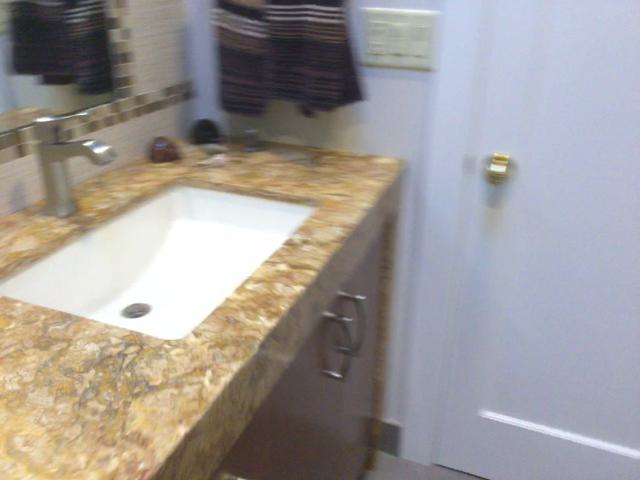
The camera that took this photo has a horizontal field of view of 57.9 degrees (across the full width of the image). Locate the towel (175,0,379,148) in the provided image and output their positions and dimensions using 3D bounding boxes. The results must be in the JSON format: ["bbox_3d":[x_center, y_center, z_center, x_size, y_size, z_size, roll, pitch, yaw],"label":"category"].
[{"bbox_3d":[-0.090,-0.440,1.240,0.400,0.420,0.150,8,25,16],"label":"towel"}]

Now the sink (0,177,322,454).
[{"bbox_3d":[-0.240,0.070,0.970,0.340,0.170,0.520,8,25,17],"label":"sink"}]

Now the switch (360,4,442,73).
[{"bbox_3d":[0.170,-0.430,1.230,0.160,0.130,0.030,8,25,16],"label":"switch"}]

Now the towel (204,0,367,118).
[{"bbox_3d":[-0.070,-0.450,1.210,0.310,0.340,0.130,8,25,16],"label":"towel"}]
